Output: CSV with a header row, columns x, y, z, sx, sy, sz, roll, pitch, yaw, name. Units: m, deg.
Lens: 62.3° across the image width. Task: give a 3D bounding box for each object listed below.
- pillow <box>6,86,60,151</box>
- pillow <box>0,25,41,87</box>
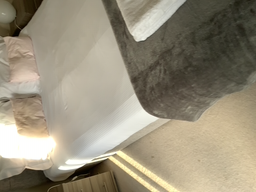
x,y,z,sx,sy,sz,roll,pitch,yaw,name
-0.800,0.170,1.770,0.130,0.290,0.520,-44,60,33,pillow
-1.010,-0.380,1.990,0.150,0.260,0.530,-36,47,36,pillow
